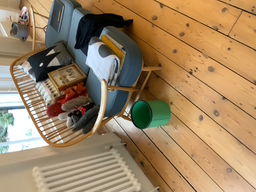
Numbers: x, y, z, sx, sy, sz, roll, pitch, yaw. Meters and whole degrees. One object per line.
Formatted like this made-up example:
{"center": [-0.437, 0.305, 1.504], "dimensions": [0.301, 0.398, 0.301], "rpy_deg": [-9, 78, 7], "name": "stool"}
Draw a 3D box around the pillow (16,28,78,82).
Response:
{"center": [-0.900, -0.470, 2.340], "dimensions": [0.540, 0.440, 0.120], "rpy_deg": [36, 162, 29], "name": "pillow"}
